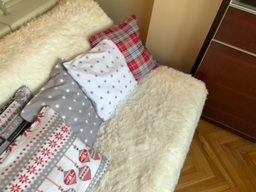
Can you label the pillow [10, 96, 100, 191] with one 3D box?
[{"bbox_3d":[-0.280,0.260,0.870,0.130,0.410,0.420,16,105,6],"label":"pillow"}]
